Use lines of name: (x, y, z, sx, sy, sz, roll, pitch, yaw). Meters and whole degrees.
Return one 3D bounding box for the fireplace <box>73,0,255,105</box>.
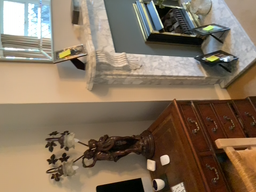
fireplace: (0.180, -0.760, 1.920, 0.600, 1.190, 1.550, 120, 143, -52)
